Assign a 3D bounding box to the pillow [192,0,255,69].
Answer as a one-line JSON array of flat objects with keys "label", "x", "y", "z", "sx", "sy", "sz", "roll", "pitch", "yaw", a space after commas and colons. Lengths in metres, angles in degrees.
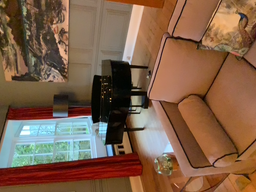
[{"label": "pillow", "x": 0.700, "y": -0.490, "z": 1.340, "sx": 0.170, "sy": 0.360, "sz": 0.580, "roll": 43, "pitch": 135, "yaw": 24}]
